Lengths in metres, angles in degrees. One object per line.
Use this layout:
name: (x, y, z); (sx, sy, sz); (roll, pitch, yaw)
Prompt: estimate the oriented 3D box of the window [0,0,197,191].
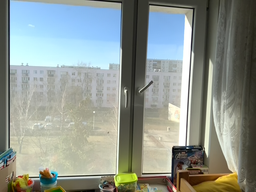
window: (-0.250, -0.020, 1.530); (1.430, 1.540, 0.140); (2, 5, -9)
